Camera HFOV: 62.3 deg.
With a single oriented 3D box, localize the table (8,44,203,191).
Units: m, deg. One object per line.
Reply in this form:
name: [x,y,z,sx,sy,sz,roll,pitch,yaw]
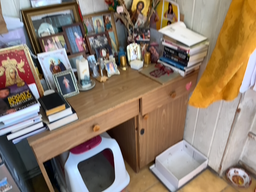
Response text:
table: [-0.100,0.200,1.460,1.020,0.760,0.520,-22,38,-25]
